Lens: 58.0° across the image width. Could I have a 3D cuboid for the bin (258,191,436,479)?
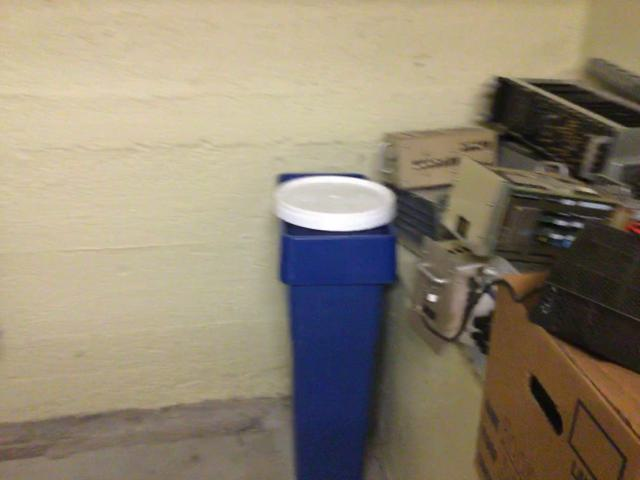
[{"bbox_3d":[0.030,0.320,1.560,0.350,0.840,0.320,0,24,-11],"label":"bin"}]
